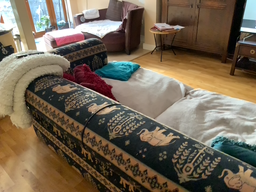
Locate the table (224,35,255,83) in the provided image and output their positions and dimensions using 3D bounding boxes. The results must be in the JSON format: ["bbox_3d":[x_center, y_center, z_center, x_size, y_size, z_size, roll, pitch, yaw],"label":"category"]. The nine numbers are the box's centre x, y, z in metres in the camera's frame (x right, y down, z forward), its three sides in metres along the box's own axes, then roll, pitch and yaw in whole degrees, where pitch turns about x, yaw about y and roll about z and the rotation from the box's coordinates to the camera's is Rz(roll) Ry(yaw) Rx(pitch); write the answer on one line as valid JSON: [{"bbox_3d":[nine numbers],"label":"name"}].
[{"bbox_3d":[1.910,-0.420,2.710,1.110,0.480,0.430,22,39,36],"label":"table"}]
